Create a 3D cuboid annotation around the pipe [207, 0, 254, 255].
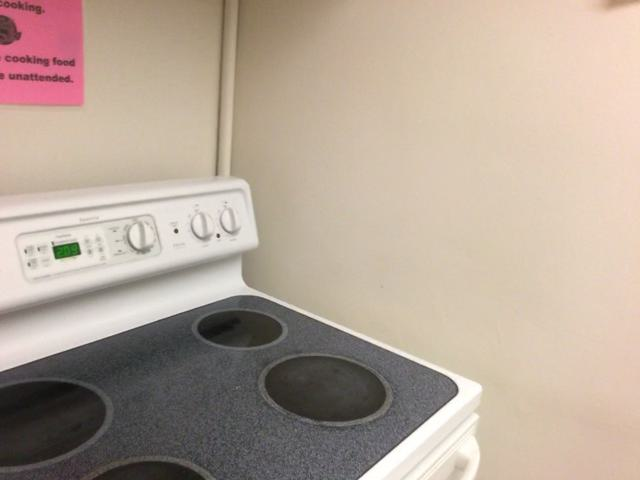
[{"bbox_3d":[-0.200,-0.330,1.310,0.060,0.740,0.040,16,18,33],"label":"pipe"}]
